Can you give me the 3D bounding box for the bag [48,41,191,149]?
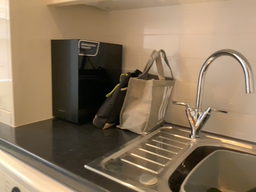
[{"bbox_3d":[-0.050,-0.050,0.960,0.550,0.350,0.300,10,13,29],"label":"bag"}]
